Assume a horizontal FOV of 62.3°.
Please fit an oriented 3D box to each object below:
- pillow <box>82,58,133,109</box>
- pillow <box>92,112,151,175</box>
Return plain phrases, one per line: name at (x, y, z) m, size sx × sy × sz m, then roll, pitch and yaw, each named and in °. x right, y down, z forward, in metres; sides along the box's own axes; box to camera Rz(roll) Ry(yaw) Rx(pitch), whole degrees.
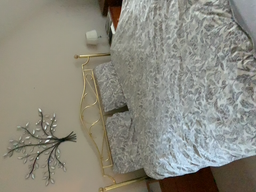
pillow at (-0.280, -0.180, 2.870) m, size 0.650 × 0.330 × 0.100 m, roll 46°, pitch 153°, yaw 10°
pillow at (-0.090, 0.570, 2.590) m, size 0.690 × 0.330 × 0.140 m, roll 47°, pitch 153°, yaw 11°
